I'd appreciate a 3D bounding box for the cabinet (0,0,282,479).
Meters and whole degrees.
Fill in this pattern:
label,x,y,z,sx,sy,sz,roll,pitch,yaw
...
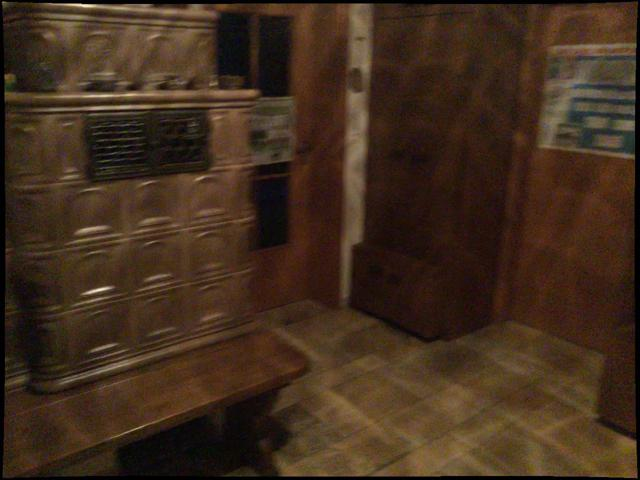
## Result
label,x,y,z,sx,sy,sz,roll,pitch,yaw
cabinet,-0.929,-0.050,2.230,1.279,1.762,0.860,-13,22,-37
